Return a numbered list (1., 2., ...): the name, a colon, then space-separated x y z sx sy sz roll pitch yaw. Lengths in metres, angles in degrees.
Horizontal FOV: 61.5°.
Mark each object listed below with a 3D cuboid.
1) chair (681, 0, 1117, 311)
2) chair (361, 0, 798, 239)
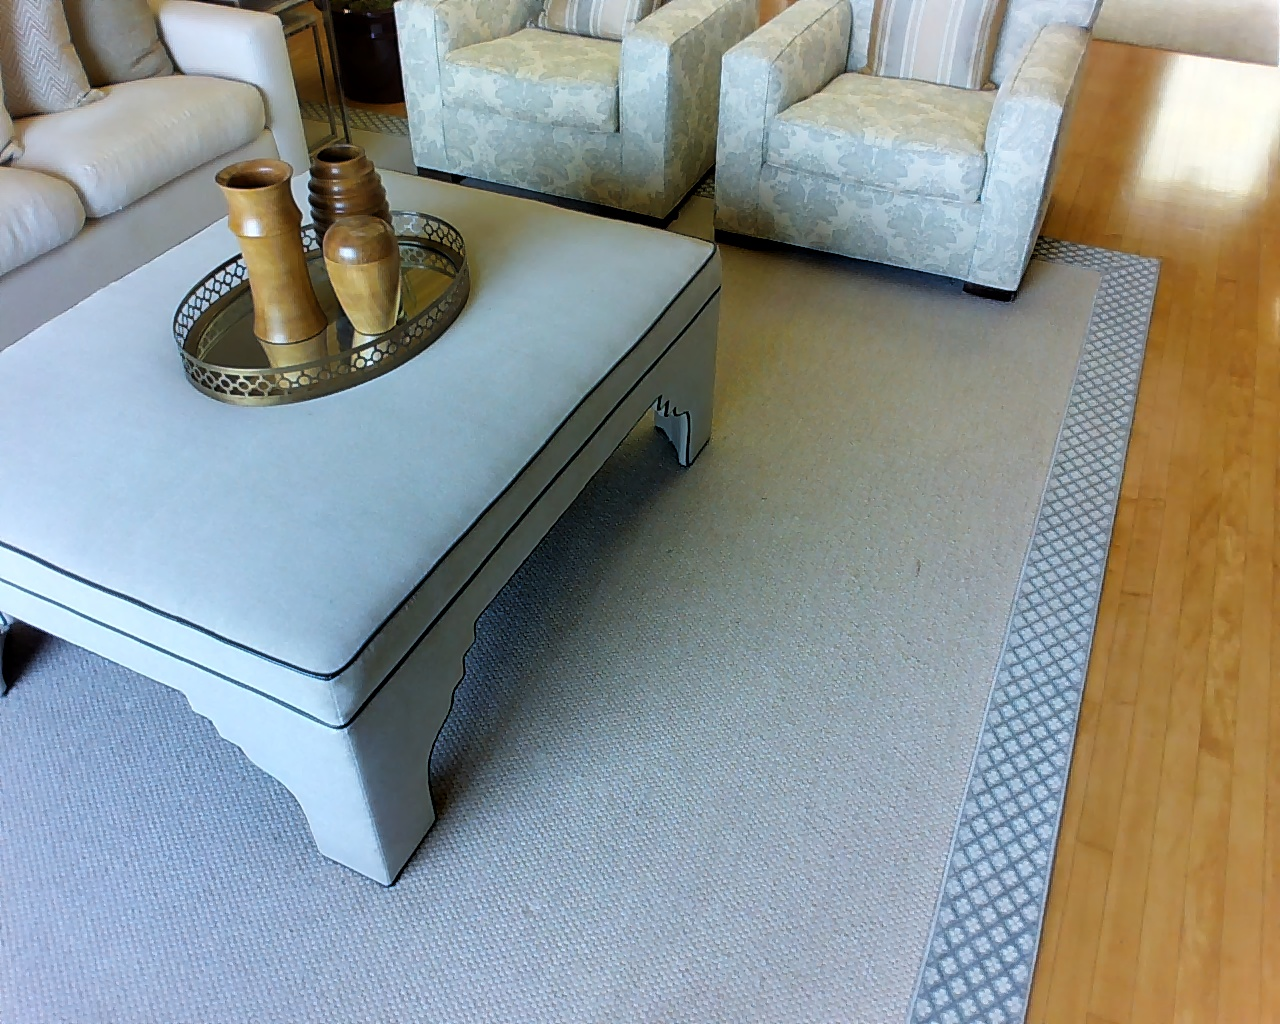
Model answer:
1. chair: 0.810 -1.360 3.230 1.030 0.920 1.020 17 44 18
2. chair: -0.150 -1.650 3.530 1.060 0.920 1.050 17 44 18
